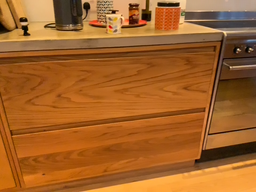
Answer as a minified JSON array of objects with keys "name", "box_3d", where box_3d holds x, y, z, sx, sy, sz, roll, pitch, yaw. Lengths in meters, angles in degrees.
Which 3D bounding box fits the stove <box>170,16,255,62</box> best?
[{"name":"stove","box_3d":[0.860,-0.440,1.500,0.900,0.170,0.660,-6,26,-13]}]
